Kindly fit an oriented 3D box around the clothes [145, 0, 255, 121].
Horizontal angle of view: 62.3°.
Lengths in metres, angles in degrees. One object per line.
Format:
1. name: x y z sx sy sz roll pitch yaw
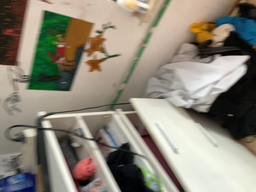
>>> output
1. clothes: 0.500 -0.190 1.230 0.330 0.510 0.560 54 128 35
